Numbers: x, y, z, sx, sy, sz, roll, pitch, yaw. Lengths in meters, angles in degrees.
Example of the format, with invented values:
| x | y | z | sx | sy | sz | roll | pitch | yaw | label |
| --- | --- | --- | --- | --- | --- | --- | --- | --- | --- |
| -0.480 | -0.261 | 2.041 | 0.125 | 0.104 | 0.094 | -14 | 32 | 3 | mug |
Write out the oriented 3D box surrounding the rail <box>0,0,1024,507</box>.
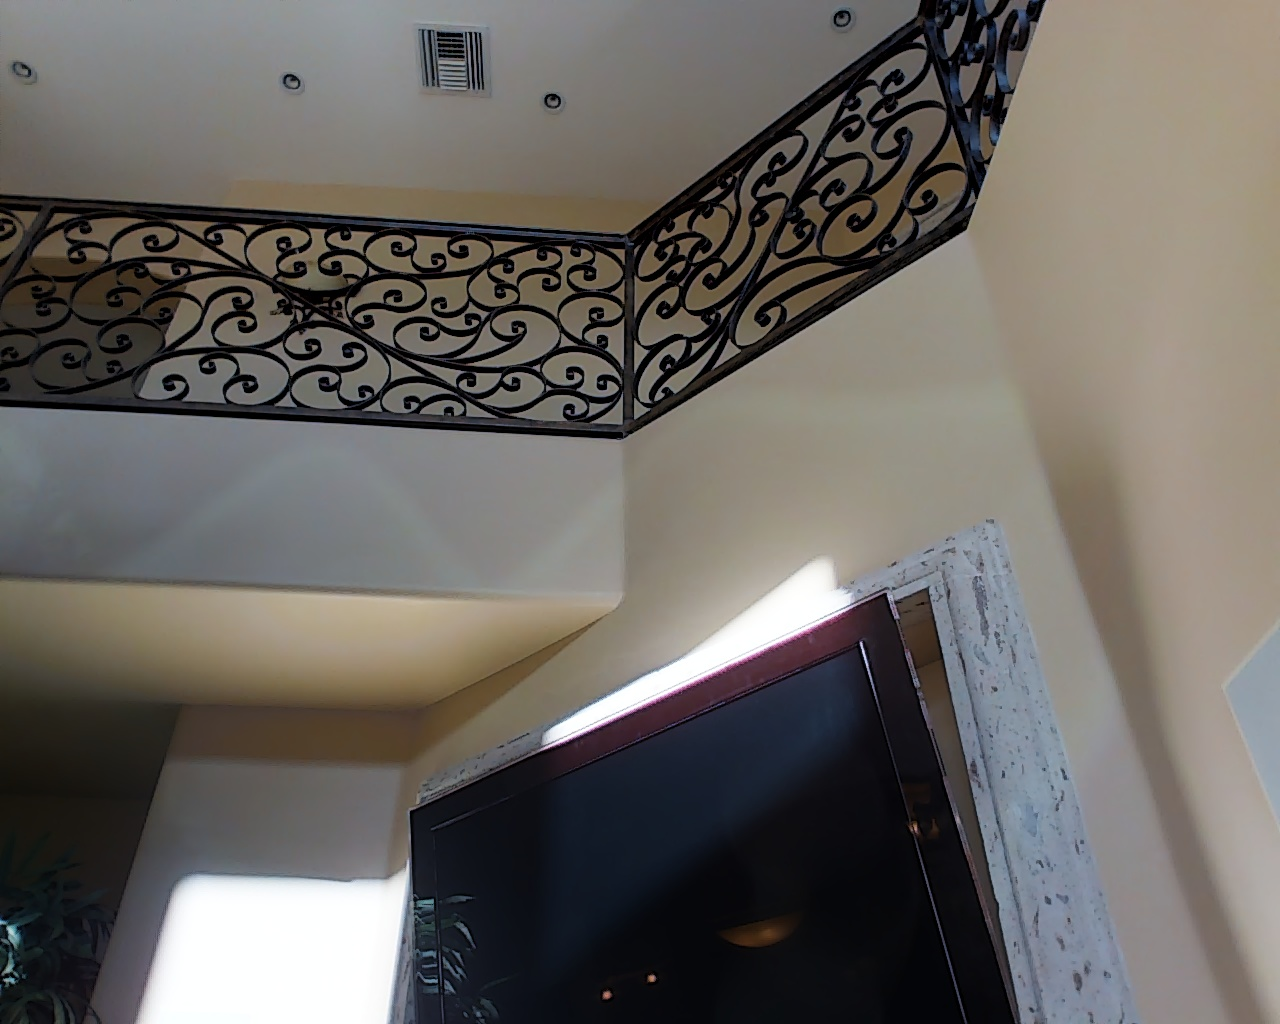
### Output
| x | y | z | sx | sy | sz | roll | pitch | yaw | label |
| --- | --- | --- | --- | --- | --- | --- | --- | --- | --- |
| -1.509 | -0.870 | 3.050 | 4.708 | 1.130 | 0.980 | 3 | -41 | -3 | rail |

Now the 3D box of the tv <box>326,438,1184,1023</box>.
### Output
| x | y | z | sx | sy | sz | roll | pitch | yaw | label |
| --- | --- | --- | --- | --- | --- | --- | --- | --- | --- |
| 0.010 | 0.660 | 2.100 | 1.750 | 1.000 | 0.160 | -30 | -49 | 30 | tv |
